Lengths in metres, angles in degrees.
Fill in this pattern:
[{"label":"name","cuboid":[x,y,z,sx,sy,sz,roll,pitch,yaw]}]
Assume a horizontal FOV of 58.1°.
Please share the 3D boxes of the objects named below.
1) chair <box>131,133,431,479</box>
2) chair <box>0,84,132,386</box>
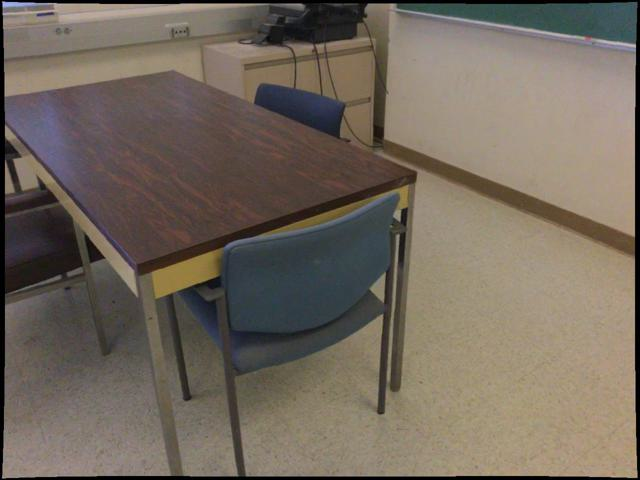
[{"label":"chair","cuboid":[-0.110,0.190,1.670,0.579,0.761,0.540,-19,35,-27]},{"label":"chair","cuboid":[-1.127,-0.030,1.980,0.629,0.761,0.670,-19,35,-28]}]
